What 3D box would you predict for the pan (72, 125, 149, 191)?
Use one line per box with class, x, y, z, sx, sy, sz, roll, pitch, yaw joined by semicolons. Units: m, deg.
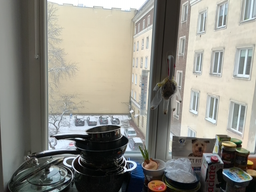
pan;-0.080;0.320;1.050;0.330;0.280;0.240;3;9;0
